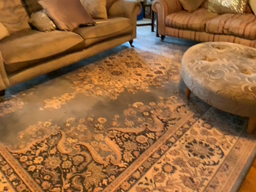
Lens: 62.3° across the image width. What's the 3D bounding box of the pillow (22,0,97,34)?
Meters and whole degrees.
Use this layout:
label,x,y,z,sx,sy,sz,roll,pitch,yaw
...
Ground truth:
label,x,y,z,sx,sy,sz,roll,pitch,yaw
pillow,-0.760,-0.970,2.420,0.490,0.310,0.600,22,39,34
